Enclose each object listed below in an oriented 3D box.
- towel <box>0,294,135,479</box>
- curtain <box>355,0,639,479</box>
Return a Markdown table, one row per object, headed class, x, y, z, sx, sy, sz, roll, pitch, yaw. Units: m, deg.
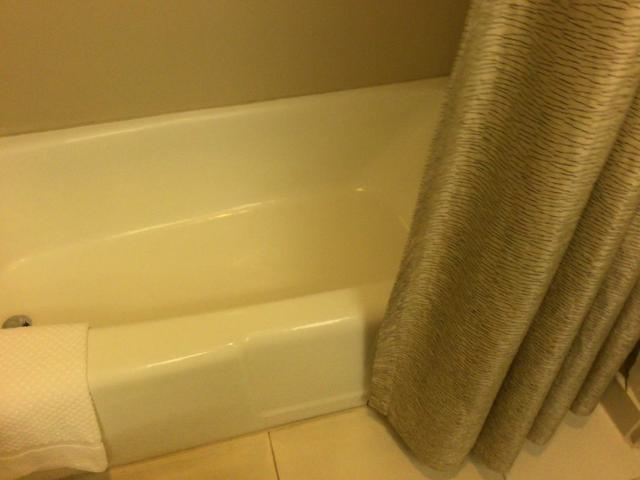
| class | x | y | z | sx | sy | sz | roll | pitch | yaw |
| --- | --- | --- | --- | --- | --- | --- | --- | --- | --- |
| towel | -0.570 | 0.340 | 1.080 | 0.350 | 0.360 | 0.240 | -11 | 47 | -11 |
| curtain | 0.390 | -0.300 | 0.540 | 0.560 | 2.040 | 0.250 | -11 | 47 | -11 |
